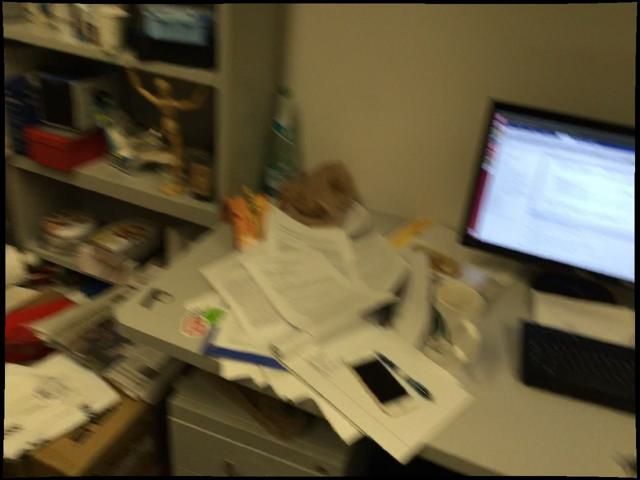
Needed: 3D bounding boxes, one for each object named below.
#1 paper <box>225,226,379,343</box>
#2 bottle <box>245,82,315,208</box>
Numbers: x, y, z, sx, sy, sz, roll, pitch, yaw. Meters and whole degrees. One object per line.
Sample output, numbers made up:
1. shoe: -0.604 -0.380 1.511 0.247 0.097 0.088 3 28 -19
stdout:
1. paper: -0.050 0.080 1.230 0.220 0.050 0.310 -8 34 -25
2. bottle: -0.110 -0.260 1.560 0.100 0.280 0.180 17 32 15
